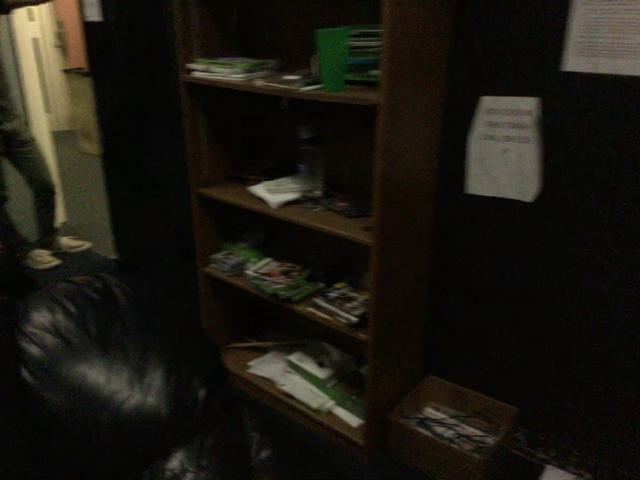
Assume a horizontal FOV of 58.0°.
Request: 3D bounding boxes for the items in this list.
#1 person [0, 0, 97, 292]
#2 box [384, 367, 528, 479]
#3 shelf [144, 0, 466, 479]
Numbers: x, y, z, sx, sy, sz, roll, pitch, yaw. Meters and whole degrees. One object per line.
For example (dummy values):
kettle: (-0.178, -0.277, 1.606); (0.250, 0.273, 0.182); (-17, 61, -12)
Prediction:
person: (-1.680, -0.600, 2.770); (0.560, 1.610, 0.750); (13, 24, 36)
box: (0.420, 0.600, 1.800); (0.340, 0.210, 0.280); (13, 24, 36)
shelf: (-0.070, -0.170, 1.870); (0.920, 1.620, 0.360); (13, 24, 36)
